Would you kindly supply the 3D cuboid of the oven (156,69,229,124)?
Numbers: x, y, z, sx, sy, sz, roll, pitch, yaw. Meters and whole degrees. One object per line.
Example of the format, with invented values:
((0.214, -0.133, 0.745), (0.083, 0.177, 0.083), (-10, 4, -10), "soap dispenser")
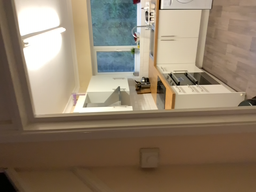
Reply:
((0.940, -0.020, 3.320), (0.600, 0.880, 0.660), (-100, 9, -67), "oven")

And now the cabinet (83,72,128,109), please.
((-0.400, -0.130, 4.010), (0.910, 0.740, 0.380), (-100, 9, -67), "cabinet")

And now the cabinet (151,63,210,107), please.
((0.900, -0.210, 3.790), (0.410, 0.880, 0.660), (-100, 9, -67), "cabinet")
